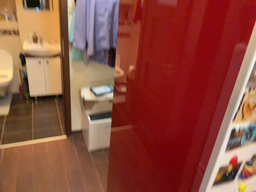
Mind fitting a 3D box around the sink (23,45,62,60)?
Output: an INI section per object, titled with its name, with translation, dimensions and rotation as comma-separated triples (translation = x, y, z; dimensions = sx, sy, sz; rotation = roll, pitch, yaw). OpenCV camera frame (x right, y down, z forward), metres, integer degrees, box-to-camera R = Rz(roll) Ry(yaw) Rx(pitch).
[sink]
translation = -1.280, -0.660, 3.160
dimensions = 0.510, 0.140, 0.290
rotation = -6, 29, -24
